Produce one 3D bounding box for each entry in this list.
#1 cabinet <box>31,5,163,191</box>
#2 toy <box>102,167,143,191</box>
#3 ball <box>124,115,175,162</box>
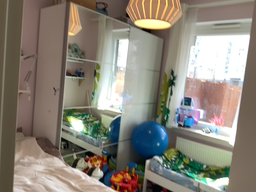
[{"bbox_3d":[-0.360,0.110,3.370,0.610,2.340,1.940,11,7,40],"label":"cabinet"},{"bbox_3d":[-0.080,1.230,2.950,0.330,0.250,0.460,0,8,-45],"label":"toy"},{"bbox_3d":[0.340,0.630,3.330,0.550,0.520,0.520,11,7,41],"label":"ball"}]
